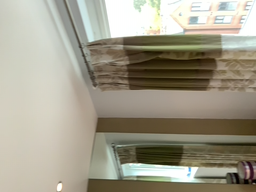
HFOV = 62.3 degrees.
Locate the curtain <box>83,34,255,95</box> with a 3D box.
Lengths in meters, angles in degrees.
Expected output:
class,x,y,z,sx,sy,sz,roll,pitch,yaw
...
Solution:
class,x,y,z,sx,sy,sz,roll,pitch,yaw
curtain,0.770,-0.210,1.600,0.550,2.120,0.110,84,-172,-56
